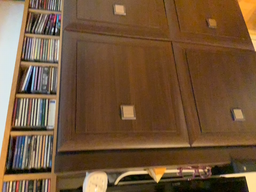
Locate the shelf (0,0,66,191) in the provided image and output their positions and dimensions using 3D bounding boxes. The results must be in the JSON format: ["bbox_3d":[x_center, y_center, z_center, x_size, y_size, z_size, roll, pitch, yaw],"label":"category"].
[{"bbox_3d":[-0.410,0.300,0.860,0.200,2.030,0.230,3,157,-15],"label":"shelf"}]
